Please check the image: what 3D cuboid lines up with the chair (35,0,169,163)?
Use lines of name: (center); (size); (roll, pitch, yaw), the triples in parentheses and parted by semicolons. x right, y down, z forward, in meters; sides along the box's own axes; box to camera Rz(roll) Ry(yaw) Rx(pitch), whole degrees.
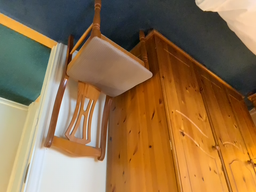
chair: (-0.170, -0.130, 1.400); (0.460, 0.910, 0.580); (26, 136, -35)
